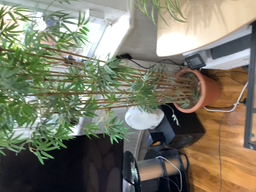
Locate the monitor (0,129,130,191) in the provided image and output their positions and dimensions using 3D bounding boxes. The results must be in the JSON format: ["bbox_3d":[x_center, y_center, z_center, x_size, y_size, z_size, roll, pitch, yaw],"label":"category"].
[{"bbox_3d":[-0.380,0.930,1.420,0.070,0.840,1.360,1,90,59],"label":"monitor"}]

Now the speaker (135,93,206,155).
[{"bbox_3d":[0.330,0.220,1.730,0.270,0.350,0.390,-57,43,41],"label":"speaker"}]

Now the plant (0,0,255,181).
[{"bbox_3d":[-0.080,-0.030,1.180,0.500,1.640,0.640,59,136,41],"label":"plant"}]
